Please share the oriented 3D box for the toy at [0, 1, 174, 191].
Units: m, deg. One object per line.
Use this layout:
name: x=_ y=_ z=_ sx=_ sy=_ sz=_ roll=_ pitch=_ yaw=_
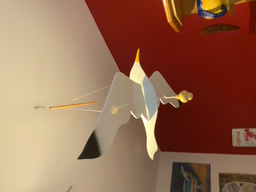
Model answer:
toy: x=-0.160 y=0.060 z=0.890 sx=0.330 sy=0.630 sz=0.670 roll=41 pitch=49 yaw=-58
